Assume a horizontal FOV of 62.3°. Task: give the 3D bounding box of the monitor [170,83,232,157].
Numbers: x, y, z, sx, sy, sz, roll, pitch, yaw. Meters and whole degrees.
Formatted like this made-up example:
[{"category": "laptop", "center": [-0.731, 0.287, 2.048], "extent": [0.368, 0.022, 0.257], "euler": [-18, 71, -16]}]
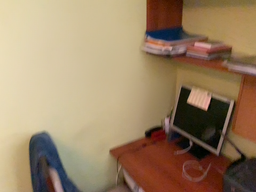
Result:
[{"category": "monitor", "center": [0.470, 0.140, 1.450], "extent": [0.050, 0.390, 0.420], "euler": [-2, 13, -30]}]
